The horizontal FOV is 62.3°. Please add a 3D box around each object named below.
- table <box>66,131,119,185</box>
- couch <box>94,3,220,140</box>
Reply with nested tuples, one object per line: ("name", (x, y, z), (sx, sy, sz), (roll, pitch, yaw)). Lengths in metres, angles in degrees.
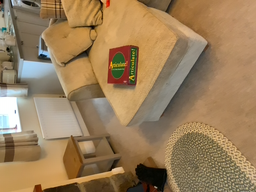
("table", (-0.440, 0.720, 2.530), (0.400, 0.410, 0.400), (54, 129, 39))
("couch", (0.160, -0.160, 1.710), (0.540, 0.450, 0.870), (55, 130, 39))
